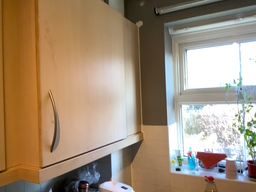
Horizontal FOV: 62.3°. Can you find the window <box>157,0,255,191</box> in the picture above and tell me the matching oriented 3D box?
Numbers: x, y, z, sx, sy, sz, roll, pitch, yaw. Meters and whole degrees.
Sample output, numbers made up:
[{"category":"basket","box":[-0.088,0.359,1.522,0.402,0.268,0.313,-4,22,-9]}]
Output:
[{"category":"window","box":[0.700,-0.010,1.350,0.970,1.180,0.160,-3,-1,26]}]
